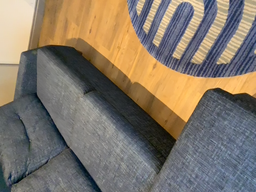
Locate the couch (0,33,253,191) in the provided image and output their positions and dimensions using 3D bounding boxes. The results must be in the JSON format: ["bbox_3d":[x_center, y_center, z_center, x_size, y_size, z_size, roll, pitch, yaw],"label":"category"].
[{"bbox_3d":[-0.250,0.570,1.510,2.630,0.890,0.990,41,120,34],"label":"couch"}]
